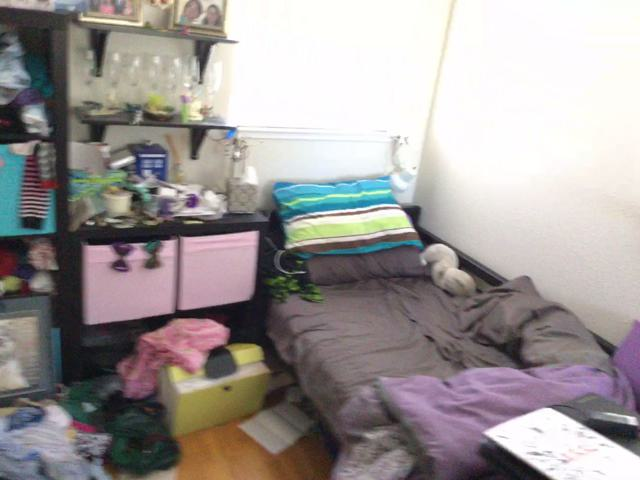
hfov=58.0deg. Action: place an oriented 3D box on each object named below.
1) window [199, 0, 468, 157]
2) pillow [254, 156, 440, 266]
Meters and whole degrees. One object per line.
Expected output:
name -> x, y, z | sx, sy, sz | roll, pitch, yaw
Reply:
window -> 0.100, -0.940, 2.640 | 1.140, 0.980, 0.270 | 1, 19, -31
pillow -> 0.120, -0.140, 2.780 | 0.690, 0.370, 0.480 | 1, 19, -31
